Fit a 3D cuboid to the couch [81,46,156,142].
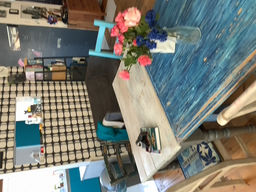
[{"bbox_3d":[-0.230,-0.060,3.260,0.730,0.690,1.240,114,145,-46],"label":"couch"}]
